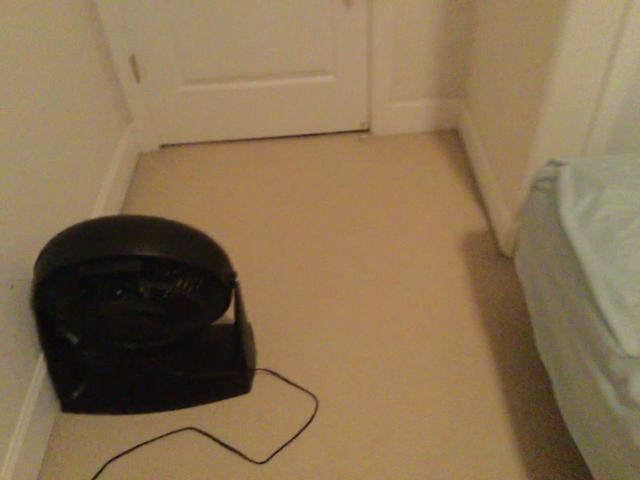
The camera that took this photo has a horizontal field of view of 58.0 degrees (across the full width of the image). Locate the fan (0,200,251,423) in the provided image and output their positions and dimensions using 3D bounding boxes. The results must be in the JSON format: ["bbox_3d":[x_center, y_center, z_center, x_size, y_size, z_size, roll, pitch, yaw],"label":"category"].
[{"bbox_3d":[-0.430,0.180,1.360,0.500,0.510,0.200,-2,38,-4],"label":"fan"}]
